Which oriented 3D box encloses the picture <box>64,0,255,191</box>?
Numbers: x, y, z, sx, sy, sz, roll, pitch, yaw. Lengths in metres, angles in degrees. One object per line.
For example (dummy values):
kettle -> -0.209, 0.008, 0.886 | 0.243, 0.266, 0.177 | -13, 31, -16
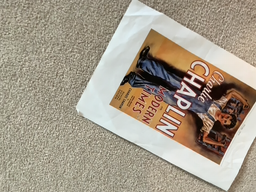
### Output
picture -> 0.090, 0.010, 0.370 | 0.320, 0.040, 0.220 | 37, 91, -5
